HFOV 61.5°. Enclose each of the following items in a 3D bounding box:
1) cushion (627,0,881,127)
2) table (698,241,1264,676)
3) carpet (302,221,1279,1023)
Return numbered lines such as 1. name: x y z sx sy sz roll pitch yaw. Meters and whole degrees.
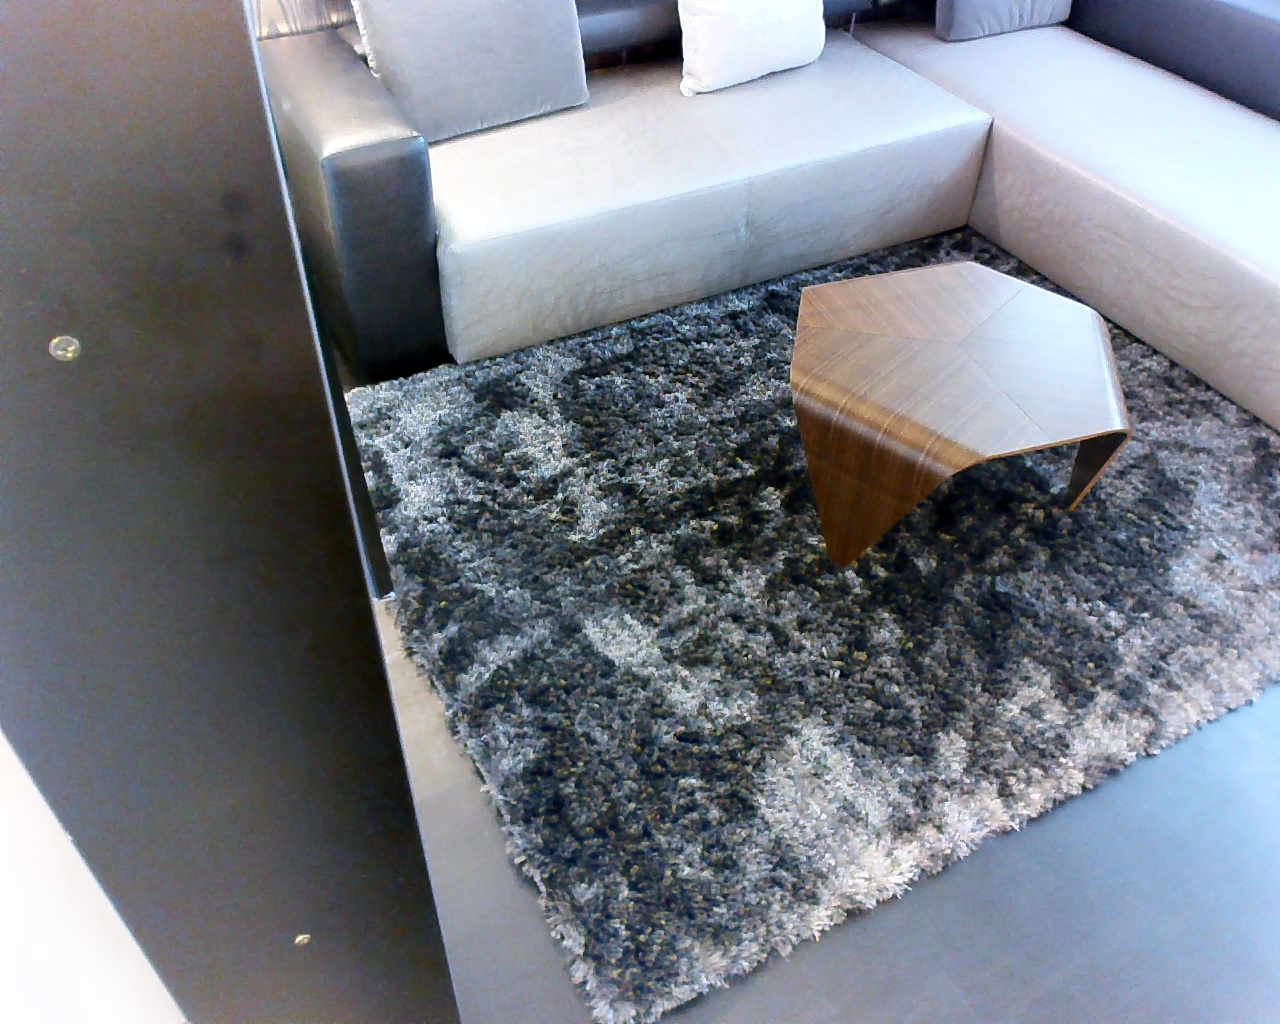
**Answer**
1. cushion: 0.300 -1.390 2.880 0.530 0.470 0.430 -19 47 -20
2. table: 0.620 -0.150 2.170 0.780 0.380 0.690 -14 45 -15
3. carpet: 0.480 -0.030 2.310 1.990 0.080 1.590 -19 47 -20
